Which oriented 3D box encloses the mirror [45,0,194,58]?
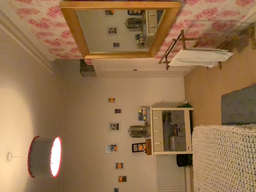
[{"bbox_3d":[-0.110,-0.800,2.750,1.840,1.310,0.100,114,156,-83],"label":"mirror"}]

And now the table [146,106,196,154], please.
[{"bbox_3d":[0.880,0.720,4.520,0.500,0.900,0.960,105,166,-79],"label":"table"}]

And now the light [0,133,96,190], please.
[{"bbox_3d":[-0.990,0.750,2.520,0.560,1.130,0.440,123,142,-85],"label":"light"}]
